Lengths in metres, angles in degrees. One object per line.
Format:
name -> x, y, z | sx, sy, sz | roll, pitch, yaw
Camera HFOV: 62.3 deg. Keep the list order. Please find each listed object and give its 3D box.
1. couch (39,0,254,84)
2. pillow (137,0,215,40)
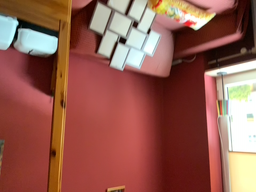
couch -> 0.200, -0.710, 1.800 | 1.450, 0.830, 1.030 | 10, 166, -40
pillow -> 0.410, -0.660, 1.730 | 0.670, 0.130, 0.260 | 9, 167, -39
